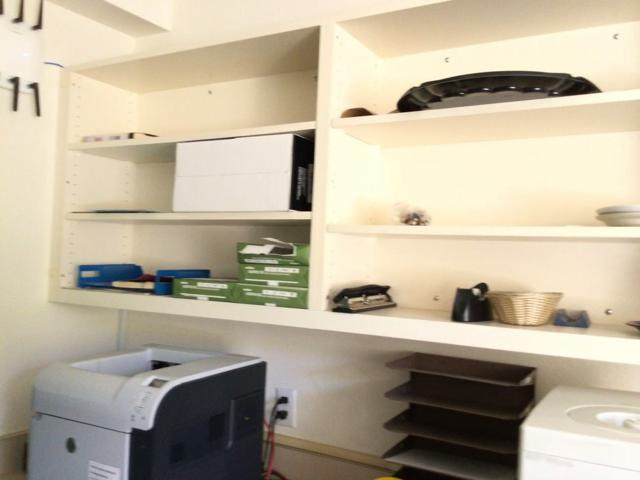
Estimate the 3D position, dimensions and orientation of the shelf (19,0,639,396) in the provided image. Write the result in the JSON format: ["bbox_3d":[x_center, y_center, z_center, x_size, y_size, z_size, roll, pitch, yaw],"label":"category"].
[{"bbox_3d":[0.050,-0.160,1.470,1.950,0.790,0.430,3,-1,30],"label":"shelf"}]

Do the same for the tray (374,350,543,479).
[{"bbox_3d":[0.330,0.530,1.380,0.320,0.460,0.250,3,-1,30],"label":"tray"}]

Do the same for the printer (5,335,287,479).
[{"bbox_3d":[-0.430,0.500,1.500,0.470,0.400,0.500,3,-1,30],"label":"printer"}]
